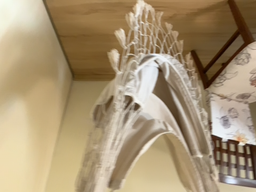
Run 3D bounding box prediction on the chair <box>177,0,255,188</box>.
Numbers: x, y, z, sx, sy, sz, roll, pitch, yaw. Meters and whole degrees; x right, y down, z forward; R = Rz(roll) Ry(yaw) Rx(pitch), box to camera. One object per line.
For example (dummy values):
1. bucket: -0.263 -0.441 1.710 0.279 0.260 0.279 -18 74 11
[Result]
1. chair: 0.710 -0.030 1.290 0.470 0.950 0.570 18 142 -21
